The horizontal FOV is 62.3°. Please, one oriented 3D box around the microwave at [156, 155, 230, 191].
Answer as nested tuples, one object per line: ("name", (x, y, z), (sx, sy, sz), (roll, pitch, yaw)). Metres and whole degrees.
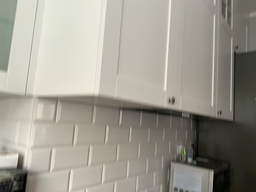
("microwave", (0.510, 0.620, 1.620), (0.360, 0.240, 0.500), (-2, -9, 41))
